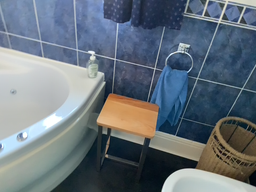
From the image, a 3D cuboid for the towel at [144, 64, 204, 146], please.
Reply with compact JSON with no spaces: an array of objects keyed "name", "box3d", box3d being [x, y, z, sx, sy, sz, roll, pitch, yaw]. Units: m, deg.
[{"name":"towel","box3d":[0.270,0.080,1.340,0.230,0.540,0.100,16,40,8]}]
